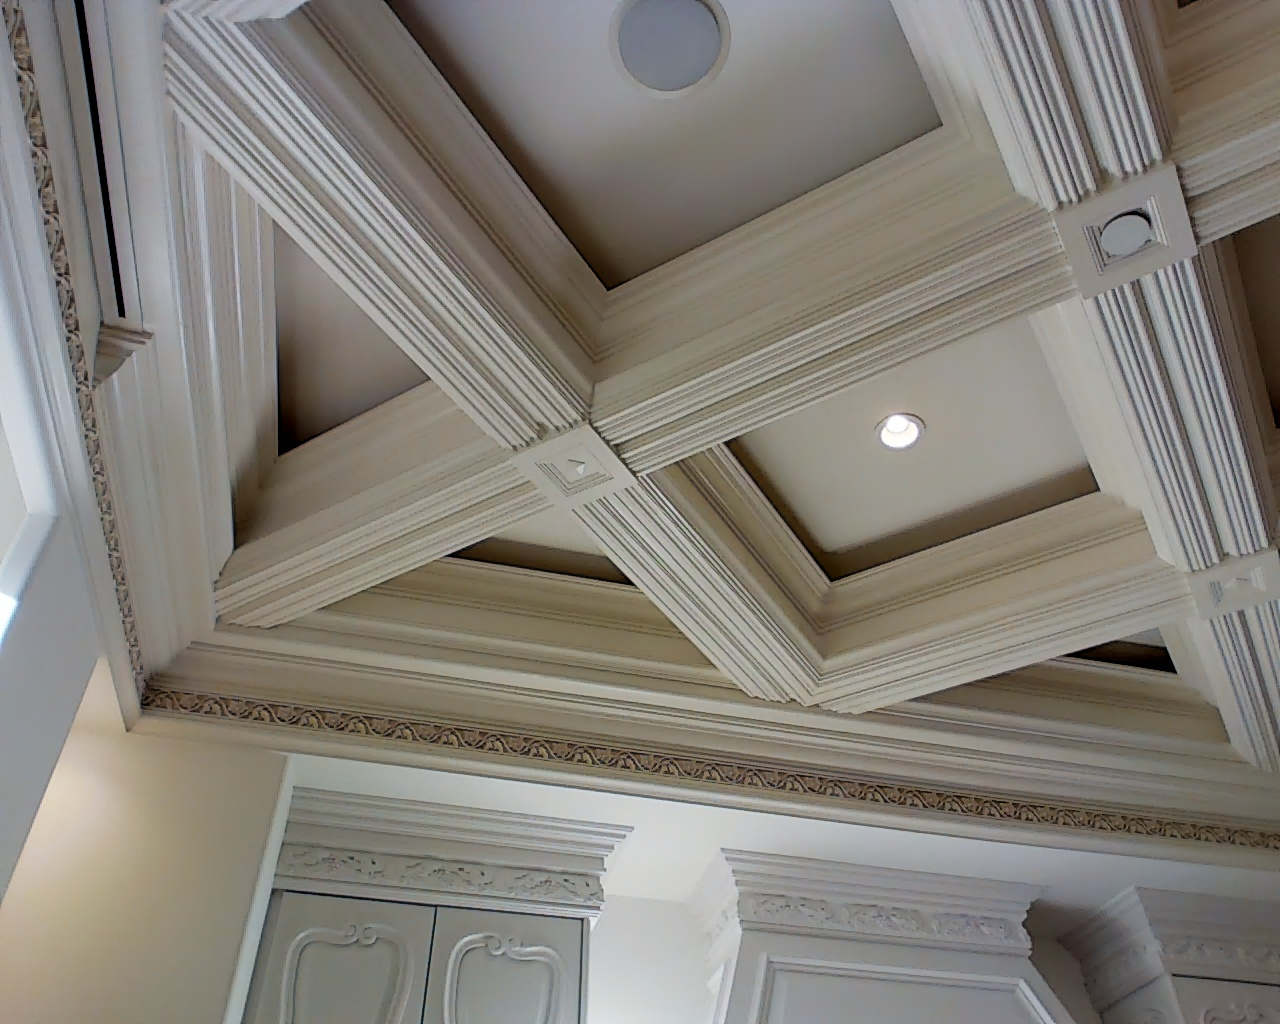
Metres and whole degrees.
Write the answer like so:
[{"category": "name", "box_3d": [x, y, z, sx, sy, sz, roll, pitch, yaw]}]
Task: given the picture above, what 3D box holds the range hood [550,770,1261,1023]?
[{"category": "range hood", "box_3d": [0.700, 1.590, 2.950, 1.809, 1.290, 0.800, 9, -43, -10]}]
